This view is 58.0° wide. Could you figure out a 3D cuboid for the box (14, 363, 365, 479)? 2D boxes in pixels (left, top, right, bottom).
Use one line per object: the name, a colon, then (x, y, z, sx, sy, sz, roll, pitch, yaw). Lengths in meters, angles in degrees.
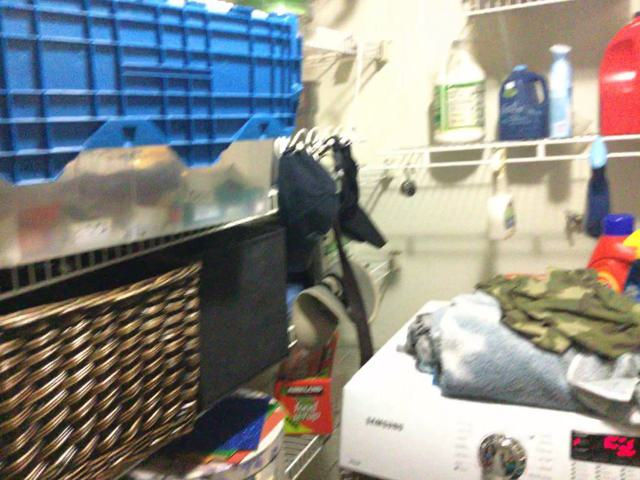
box: (-0.280, 0.520, 1.110, 0.430, 0.230, 0.830, 0, 11, 27)
